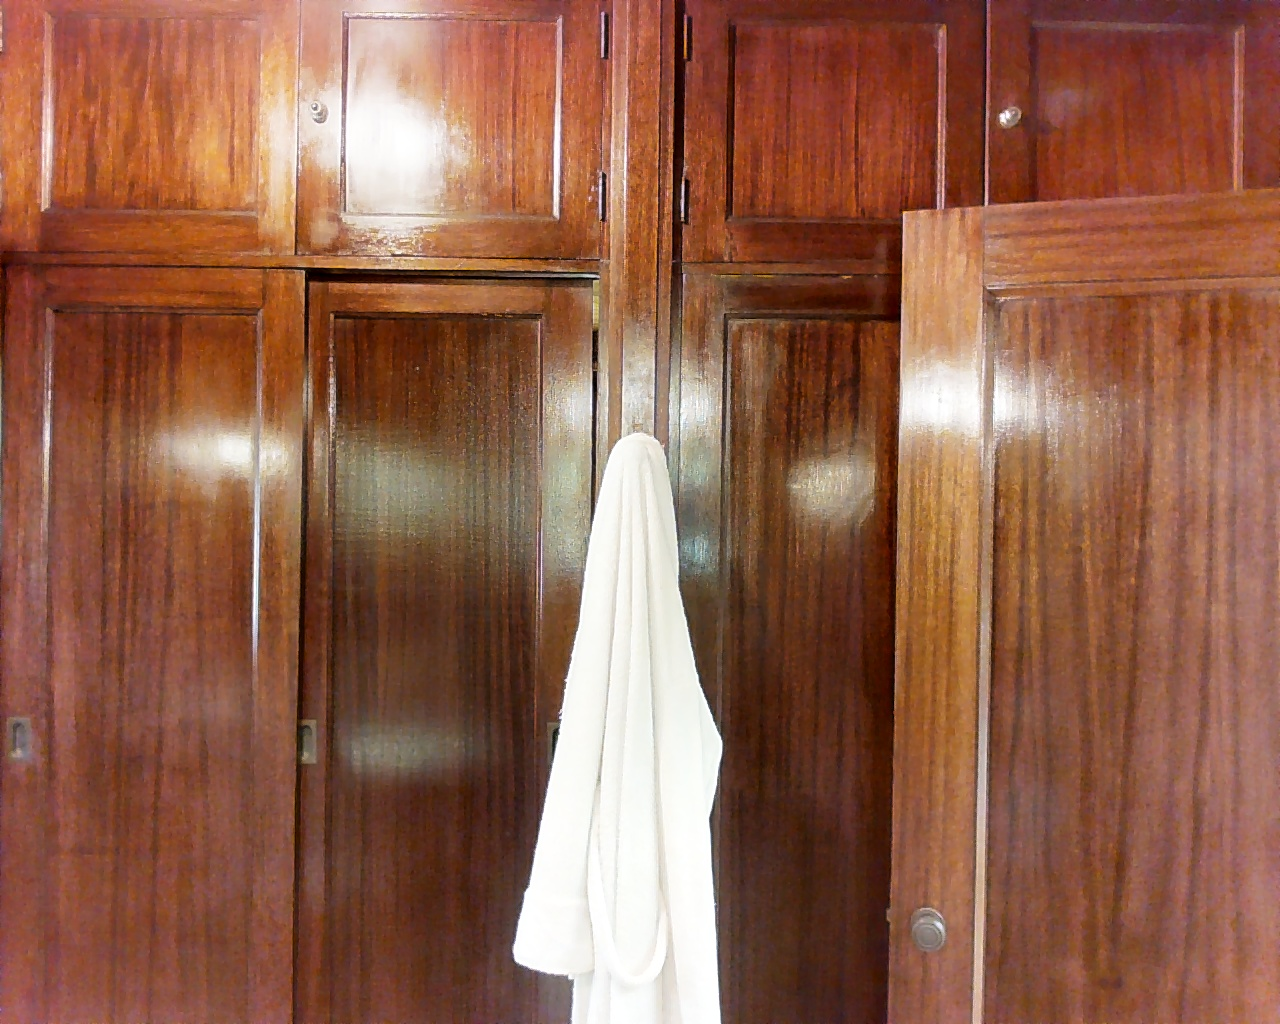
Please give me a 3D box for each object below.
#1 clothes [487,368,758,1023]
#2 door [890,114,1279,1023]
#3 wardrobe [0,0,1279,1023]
[{"bbox_3d":[-0.030,0.610,1.790,0.390,1.650,0.340,1,1,1],"label":"clothes"},{"bbox_3d":[0.820,0.500,1.690,0.820,2.200,0.040,1,1,18],"label":"door"},{"bbox_3d":[-0.610,0.280,1.910,3.689,2.570,0.110,1,1,1],"label":"wardrobe"}]
